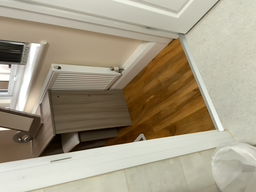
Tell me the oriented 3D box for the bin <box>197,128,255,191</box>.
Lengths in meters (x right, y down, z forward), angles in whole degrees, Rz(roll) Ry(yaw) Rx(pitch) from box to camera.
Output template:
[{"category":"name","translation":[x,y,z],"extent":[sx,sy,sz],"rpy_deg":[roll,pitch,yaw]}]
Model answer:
[{"category":"bin","translation":[0.590,0.360,1.010],"extent":[0.270,0.300,0.360],"rpy_deg":[-40,58,49]}]

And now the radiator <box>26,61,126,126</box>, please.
[{"category":"radiator","translation":[-0.590,0.040,2.170],"extent":[1.160,0.670,0.060],"rpy_deg":[-44,56,47]}]
